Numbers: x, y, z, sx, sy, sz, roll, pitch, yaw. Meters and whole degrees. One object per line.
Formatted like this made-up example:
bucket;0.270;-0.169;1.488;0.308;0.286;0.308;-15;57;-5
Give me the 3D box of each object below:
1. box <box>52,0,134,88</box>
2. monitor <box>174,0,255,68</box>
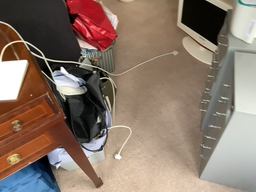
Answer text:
box;-0.250;-0.470;1.570;0.320;0.540;0.530;-29;56;-17
monitor;0.590;-0.550;1.590;0.050;0.450;0.600;-30;56;-17
